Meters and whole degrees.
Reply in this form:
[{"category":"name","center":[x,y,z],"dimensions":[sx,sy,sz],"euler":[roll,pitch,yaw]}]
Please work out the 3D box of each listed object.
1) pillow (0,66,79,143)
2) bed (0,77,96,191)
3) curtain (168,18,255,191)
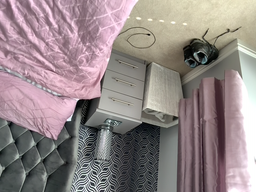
[{"category":"pillow","center":[-0.740,0.070,1.440],"dimensions":[0.660,0.300,0.400],"euler":[18,152,-21]},{"category":"bed","center":[-1.210,0.200,1.380],"dimensions":[1.850,0.760,0.320],"euler":[16,153,-17]},{"category":"curtain","center":[0.510,0.540,1.320],"dimensions":[0.240,2.160,0.570],"euler":[16,153,-17]}]
